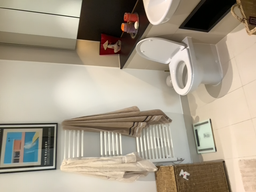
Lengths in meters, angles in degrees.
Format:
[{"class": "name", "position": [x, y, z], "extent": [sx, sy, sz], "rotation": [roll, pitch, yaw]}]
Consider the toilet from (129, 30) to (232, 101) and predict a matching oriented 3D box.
[{"class": "toilet", "position": [0.500, -0.270, 2.150], "extent": [0.410, 0.860, 0.520], "rotation": [133, 136, -62]}]

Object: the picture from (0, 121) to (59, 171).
[{"class": "picture", "position": [-0.970, 0.450, 1.950], "extent": [0.040, 0.630, 0.430], "rotation": [133, 135, -63]}]

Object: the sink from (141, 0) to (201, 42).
[{"class": "sink", "position": [0.300, -0.770, 1.590], "extent": [0.560, 0.180, 0.460], "rotation": [133, 135, -63]}]
